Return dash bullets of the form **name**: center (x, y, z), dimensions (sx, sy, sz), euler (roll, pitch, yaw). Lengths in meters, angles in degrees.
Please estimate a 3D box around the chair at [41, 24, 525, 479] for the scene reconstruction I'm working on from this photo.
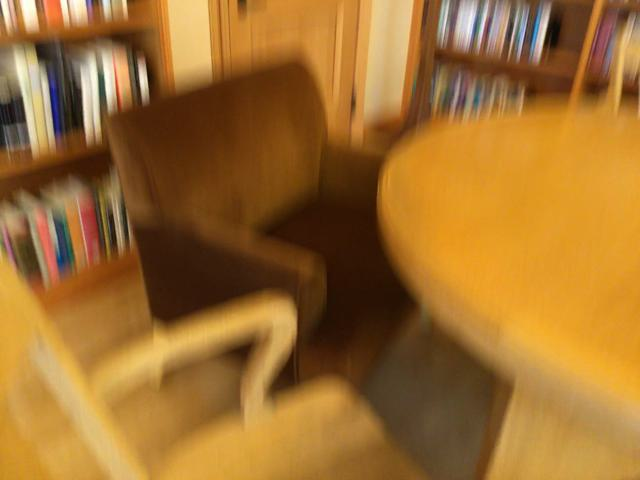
- **chair**: center (-0.020, -0.030, 1.600), dimensions (0.800, 0.910, 0.880), euler (15, 32, 27)

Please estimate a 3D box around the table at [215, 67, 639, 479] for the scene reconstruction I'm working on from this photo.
- **table**: center (0.830, 0.230, 1.330), dimensions (1.470, 0.800, 1.430), euler (22, 36, 35)
